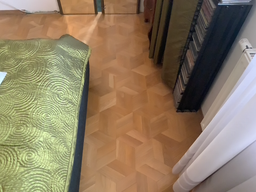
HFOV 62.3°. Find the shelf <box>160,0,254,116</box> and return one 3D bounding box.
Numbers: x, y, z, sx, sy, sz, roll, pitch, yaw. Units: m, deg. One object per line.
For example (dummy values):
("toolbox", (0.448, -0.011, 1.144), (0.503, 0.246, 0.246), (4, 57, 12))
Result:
("shelf", (0.390, -0.260, 1.320), (0.210, 0.890, 0.360), (1, 54, -2))
